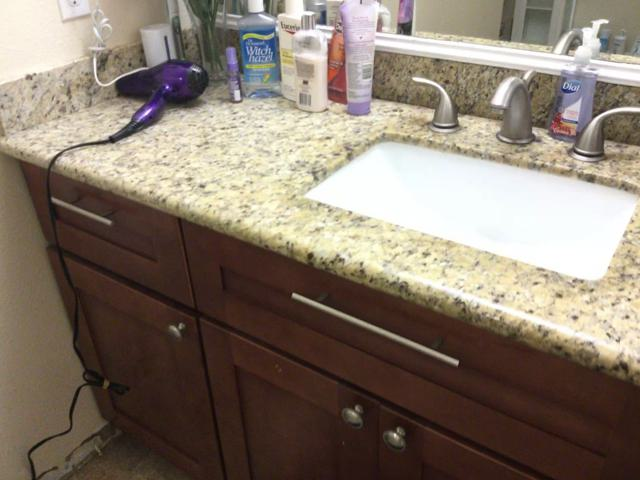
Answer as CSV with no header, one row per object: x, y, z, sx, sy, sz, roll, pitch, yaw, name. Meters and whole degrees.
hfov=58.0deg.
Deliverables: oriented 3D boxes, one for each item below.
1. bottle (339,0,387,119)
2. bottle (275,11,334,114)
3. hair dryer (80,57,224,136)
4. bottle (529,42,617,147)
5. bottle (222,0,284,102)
0.080,-0.350,1.120,0.080,0.220,0.050,-2,30,-2,bottle
-0.030,-0.360,1.170,0.090,0.180,0.070,19,35,30,bottle
-0.350,-0.310,1.220,0.200,0.090,0.200,19,35,30,hair dryer
0.430,-0.250,0.990,0.100,0.150,0.060,19,35,30,bottle
-0.140,-0.410,1.240,0.100,0.200,0.070,11,32,18,bottle
